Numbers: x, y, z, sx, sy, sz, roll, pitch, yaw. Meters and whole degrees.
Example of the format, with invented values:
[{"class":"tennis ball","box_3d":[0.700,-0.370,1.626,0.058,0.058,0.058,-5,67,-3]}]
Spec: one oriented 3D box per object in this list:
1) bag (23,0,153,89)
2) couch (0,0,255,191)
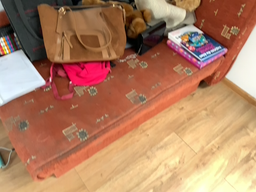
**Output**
[{"class":"bag","box_3d":[-0.210,-0.360,1.160,0.480,0.260,0.440,-29,58,-26]},{"class":"couch","box_3d":[-0.080,-0.300,1.280,1.490,0.820,0.890,-30,58,-27]}]
